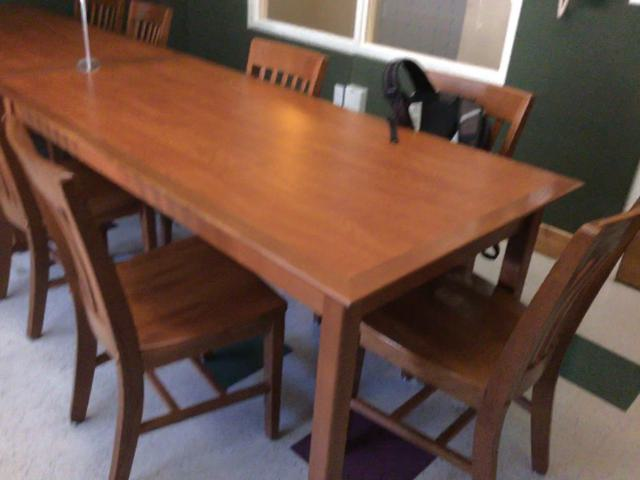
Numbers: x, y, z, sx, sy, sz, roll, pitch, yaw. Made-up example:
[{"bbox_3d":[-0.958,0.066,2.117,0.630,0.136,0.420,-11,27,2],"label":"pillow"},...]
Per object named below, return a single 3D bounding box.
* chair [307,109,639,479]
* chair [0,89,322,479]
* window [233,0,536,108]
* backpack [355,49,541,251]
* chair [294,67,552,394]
[{"bbox_3d":[0.380,0.220,1.420,0.540,0.880,0.560,-23,38,-40],"label":"chair"},{"bbox_3d":[-0.410,0.140,1.470,0.610,0.880,0.470,-15,34,-32],"label":"chair"},{"bbox_3d":[0.220,-1.590,2.990,0.180,1.330,1.950,-23,38,-40],"label":"window"},{"bbox_3d":[0.400,-0.310,1.890,0.440,0.510,0.290,20,32,27],"label":"backpack"},{"bbox_3d":[0.320,-0.070,1.980,0.620,0.870,0.470,-23,38,-40],"label":"chair"}]
